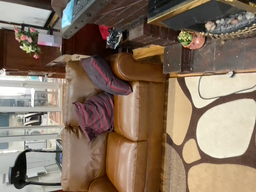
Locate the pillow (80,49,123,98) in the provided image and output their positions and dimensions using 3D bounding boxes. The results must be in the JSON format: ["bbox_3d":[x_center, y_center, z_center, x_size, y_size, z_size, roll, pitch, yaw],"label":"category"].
[{"bbox_3d":[-0.270,-0.190,2.040,0.470,0.240,0.410,1,90,61],"label":"pillow"}]

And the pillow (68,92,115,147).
[{"bbox_3d":[-0.380,0.240,2.230,0.170,0.350,0.470,88,165,-84],"label":"pillow"}]
